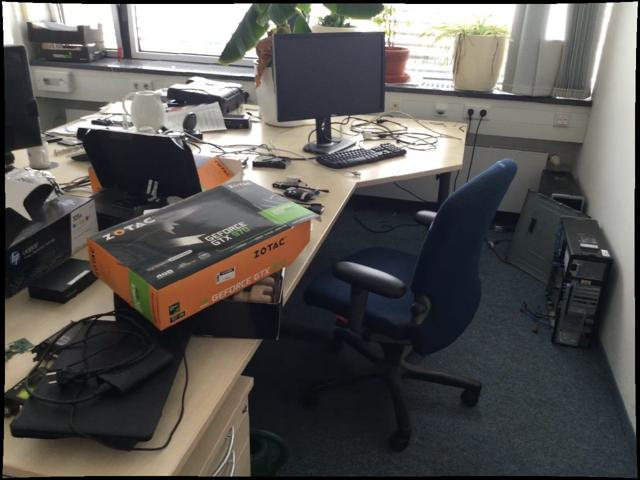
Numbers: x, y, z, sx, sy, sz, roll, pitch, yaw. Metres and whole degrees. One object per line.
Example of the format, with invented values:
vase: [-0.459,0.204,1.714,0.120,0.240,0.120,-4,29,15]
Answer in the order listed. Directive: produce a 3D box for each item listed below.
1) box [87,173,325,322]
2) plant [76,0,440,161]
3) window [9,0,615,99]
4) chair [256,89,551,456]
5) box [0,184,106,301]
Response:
box: [-0.240,-0.010,1.320,0.270,0.110,0.460,20,33,36]
plant: [-0.200,-1.111,2.840,1.469,1.051,1.100,5,27,14]
window: [-0.170,-1.632,3.390,3.437,1.321,0.710,6,27,14]
chair: [0.290,0.050,2.080,0.710,0.981,0.660,17,32,33]
box: [-0.849,-0.010,1.610,0.290,0.140,0.390,5,27,14]
